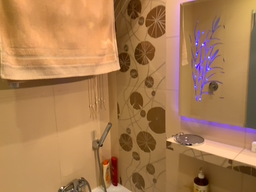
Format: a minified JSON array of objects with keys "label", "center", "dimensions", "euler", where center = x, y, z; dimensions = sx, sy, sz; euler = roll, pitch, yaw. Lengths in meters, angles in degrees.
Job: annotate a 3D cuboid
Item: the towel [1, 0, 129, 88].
[{"label":"towel","center":[-0.300,-0.460,1.200],"dimensions":[0.170,0.740,0.700],"euler":[7,13,42]}]
